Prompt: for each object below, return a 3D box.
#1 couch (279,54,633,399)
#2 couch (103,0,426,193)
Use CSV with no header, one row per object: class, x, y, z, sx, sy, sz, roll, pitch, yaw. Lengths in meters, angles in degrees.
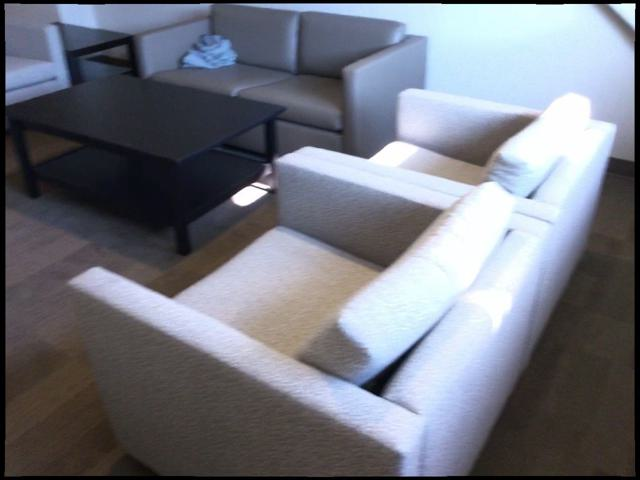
couch,0.499,-0.150,2.100,0.909,0.701,0.930,17,36,24
couch,-0.319,-0.982,3.470,1.598,0.721,0.920,18,37,26
